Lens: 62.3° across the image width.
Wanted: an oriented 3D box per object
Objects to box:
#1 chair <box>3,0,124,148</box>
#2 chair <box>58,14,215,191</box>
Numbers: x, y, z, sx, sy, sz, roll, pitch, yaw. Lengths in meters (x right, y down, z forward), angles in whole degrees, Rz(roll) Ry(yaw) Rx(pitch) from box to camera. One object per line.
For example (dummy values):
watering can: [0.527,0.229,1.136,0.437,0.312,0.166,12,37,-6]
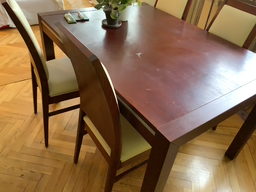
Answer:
chair: [-0.420,-0.200,1.470,0.550,0.940,0.440,-17,45,-28]
chair: [-0.010,0.120,1.140,0.500,0.930,0.390,-20,46,-30]
